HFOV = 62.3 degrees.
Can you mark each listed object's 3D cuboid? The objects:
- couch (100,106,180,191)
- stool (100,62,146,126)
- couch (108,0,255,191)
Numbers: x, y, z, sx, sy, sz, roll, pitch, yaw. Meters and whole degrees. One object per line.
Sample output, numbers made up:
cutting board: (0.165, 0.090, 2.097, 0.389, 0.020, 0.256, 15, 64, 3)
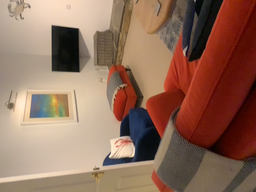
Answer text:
couch: (0.100, 0.600, 2.680, 0.680, 0.740, 0.780, -145, 57, -67)
stool: (-0.140, -0.060, 3.740, 0.970, 0.480, 0.650, -112, 29, -47)
couch: (0.530, -0.200, 1.160, 1.090, 0.910, 1.280, -113, 29, -47)
